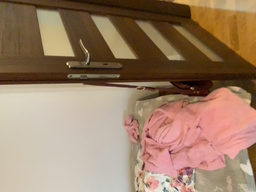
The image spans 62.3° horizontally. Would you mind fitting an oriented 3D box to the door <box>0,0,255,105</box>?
[{"bbox_3d":[-0.130,-0.370,1.200,0.970,2.130,0.090,65,145,38],"label":"door"}]
